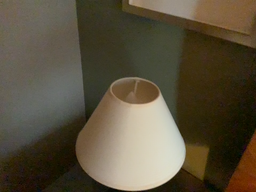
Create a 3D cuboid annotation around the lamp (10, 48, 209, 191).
[{"bbox_3d":[-0.050,0.170,0.540,0.320,0.460,0.220,26,40,30],"label":"lamp"}]
